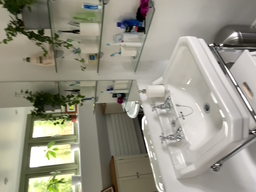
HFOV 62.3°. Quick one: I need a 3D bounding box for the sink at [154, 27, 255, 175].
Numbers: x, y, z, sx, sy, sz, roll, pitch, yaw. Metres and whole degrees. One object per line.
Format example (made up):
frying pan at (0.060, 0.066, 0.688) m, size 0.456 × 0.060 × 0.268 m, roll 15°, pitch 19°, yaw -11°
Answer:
sink at (0.370, 0.030, 1.140) m, size 0.490 × 0.180 × 0.610 m, roll 109°, pitch 155°, yaw -52°
